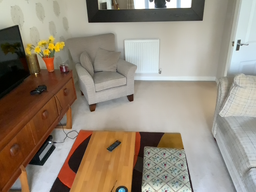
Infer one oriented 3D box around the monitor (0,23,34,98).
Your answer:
[{"bbox_3d":[-1.160,-0.300,1.900,0.070,0.540,0.960,1,27,5],"label":"monitor"}]
